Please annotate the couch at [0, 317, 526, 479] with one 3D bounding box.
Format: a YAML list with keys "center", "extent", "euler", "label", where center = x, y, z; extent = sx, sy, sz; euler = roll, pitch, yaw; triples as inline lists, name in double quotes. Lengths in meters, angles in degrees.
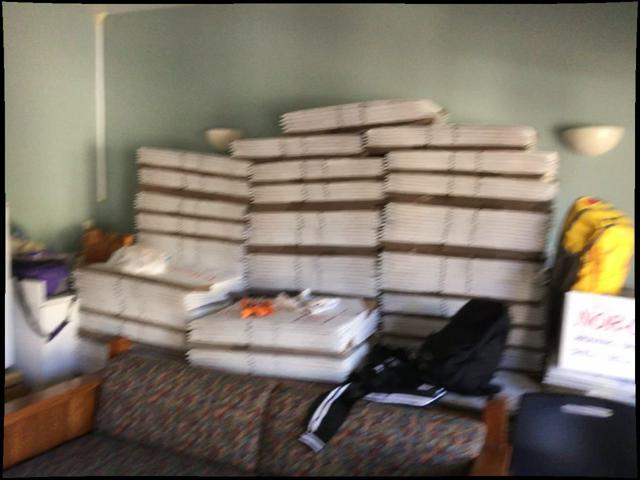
- center: [-0.360, 0.921, 2.160]
  extent: [2.008, 0.801, 0.980]
  euler: [5, 9, 24]
  label: "couch"

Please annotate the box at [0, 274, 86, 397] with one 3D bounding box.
- center: [-1.489, 0.480, 3.020]
  extent: [0.430, 0.531, 0.250]
  euler: [5, 9, 24]
  label: "box"

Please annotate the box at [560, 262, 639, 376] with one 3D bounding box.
- center: [1.219, 0.310, 2.280]
  extent: [0.470, 0.370, 0.250]
  euler: [5, 9, 24]
  label: "box"
